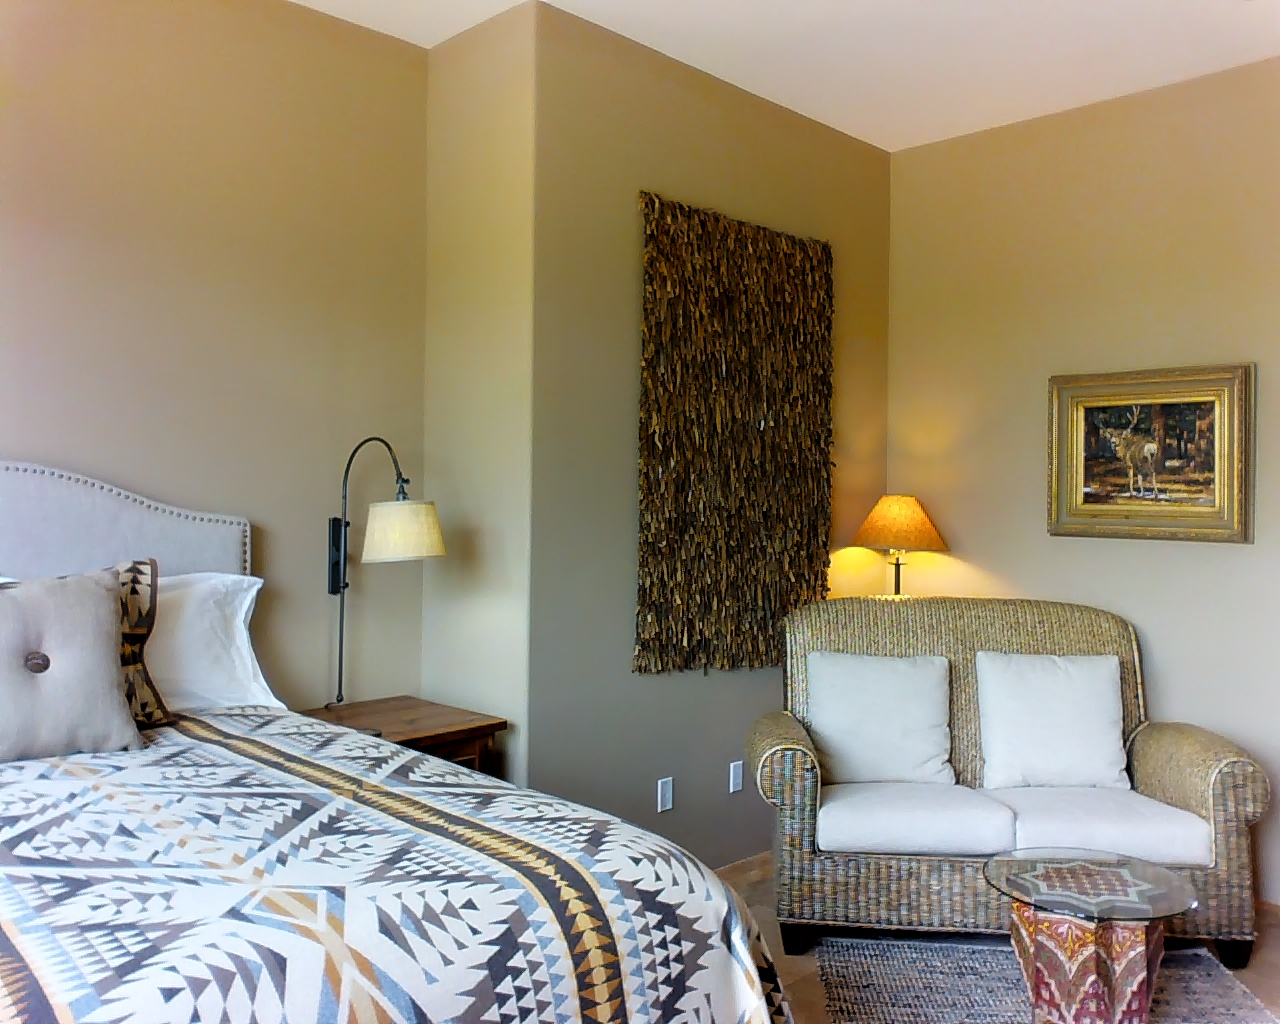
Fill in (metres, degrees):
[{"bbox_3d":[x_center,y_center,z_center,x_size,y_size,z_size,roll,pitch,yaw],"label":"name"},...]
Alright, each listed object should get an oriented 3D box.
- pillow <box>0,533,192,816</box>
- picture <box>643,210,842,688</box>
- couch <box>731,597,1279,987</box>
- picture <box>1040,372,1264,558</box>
[{"bbox_3d":[-1.400,0.360,2.440,0.210,0.480,0.500,1,-28,45],"label":"pillow"},{"bbox_3d":[0.430,-0.220,4.170,1.080,1.680,0.070,0,0,-44],"label":"picture"},{"bbox_3d":[1.160,0.880,3.760,1.650,1.050,1.030,1,0,4],"label":"couch"},{"bbox_3d":[1.940,-0.170,4.110,0.100,0.660,0.780,0,0,-45],"label":"picture"}]
